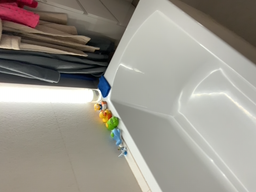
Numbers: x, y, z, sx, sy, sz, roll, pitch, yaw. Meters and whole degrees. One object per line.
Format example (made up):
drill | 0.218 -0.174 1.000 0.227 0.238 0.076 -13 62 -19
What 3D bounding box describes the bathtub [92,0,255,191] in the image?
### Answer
bathtub | 0.510 0.220 1.030 0.750 0.590 1.690 -58 47 31
